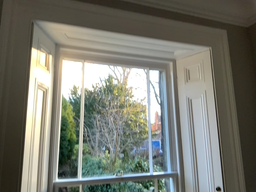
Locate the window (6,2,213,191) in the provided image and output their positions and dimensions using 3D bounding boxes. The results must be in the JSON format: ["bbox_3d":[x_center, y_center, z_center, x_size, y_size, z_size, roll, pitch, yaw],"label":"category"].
[{"bbox_3d":[-0.090,0.640,1.640,1.430,2.440,0.450,3,-12,-20],"label":"window"}]
